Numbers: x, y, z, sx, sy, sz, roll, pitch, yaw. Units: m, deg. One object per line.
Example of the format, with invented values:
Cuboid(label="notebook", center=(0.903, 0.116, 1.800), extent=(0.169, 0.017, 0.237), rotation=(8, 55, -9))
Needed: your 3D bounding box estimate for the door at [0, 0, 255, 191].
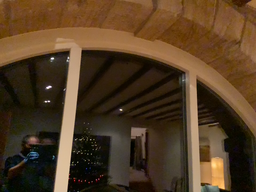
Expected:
Cuboid(label="door", center=(0.000, 0.760, 1.250), extent=(2.410, 2.420, 0.090), rotation=(8, -15, -23))
